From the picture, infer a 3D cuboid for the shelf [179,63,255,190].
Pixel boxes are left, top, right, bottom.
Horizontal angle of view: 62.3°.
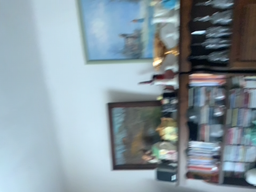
[{"bbox_3d":[0.830,0.200,1.390,0.260,0.950,0.790,-56,-36,-67],"label":"shelf"}]
